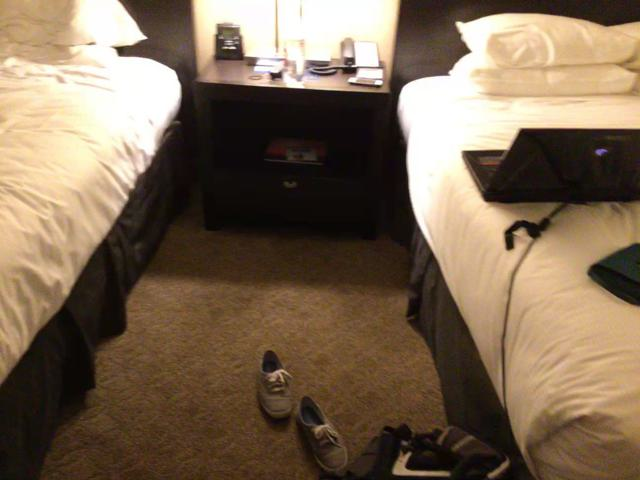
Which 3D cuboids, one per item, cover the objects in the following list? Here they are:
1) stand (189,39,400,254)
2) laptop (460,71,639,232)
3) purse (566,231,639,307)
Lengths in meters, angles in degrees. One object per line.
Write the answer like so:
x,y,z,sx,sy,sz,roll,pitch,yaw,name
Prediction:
-0.120,-0.410,2.490,0.770,0.710,0.510,6,29,-2,stand
0.640,-0.230,1.450,0.460,0.250,0.370,6,29,-2,laptop
0.640,0.060,1.150,0.220,0.040,0.210,6,29,-2,purse
